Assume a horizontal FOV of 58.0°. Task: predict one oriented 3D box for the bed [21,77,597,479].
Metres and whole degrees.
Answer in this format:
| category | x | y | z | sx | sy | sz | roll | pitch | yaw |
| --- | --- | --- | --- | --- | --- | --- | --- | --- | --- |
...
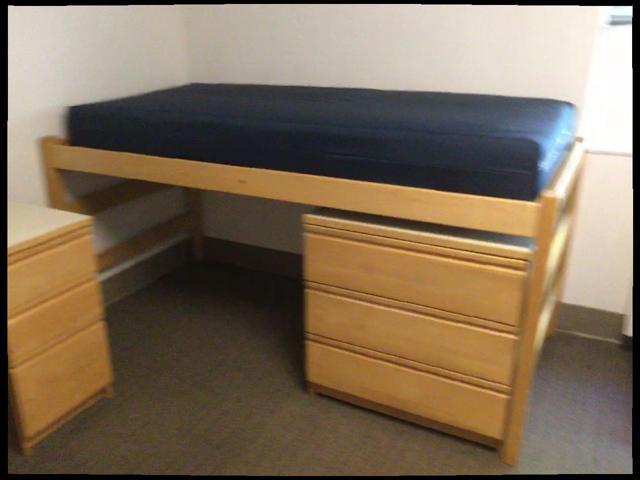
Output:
| category | x | y | z | sx | sy | sz | roll | pitch | yaw |
| --- | --- | --- | --- | --- | --- | --- | --- | --- | --- |
| bed | -0.060 | -0.080 | 2.630 | 2.177 | 1.112 | 1.090 | 10 | 24 | 27 |
